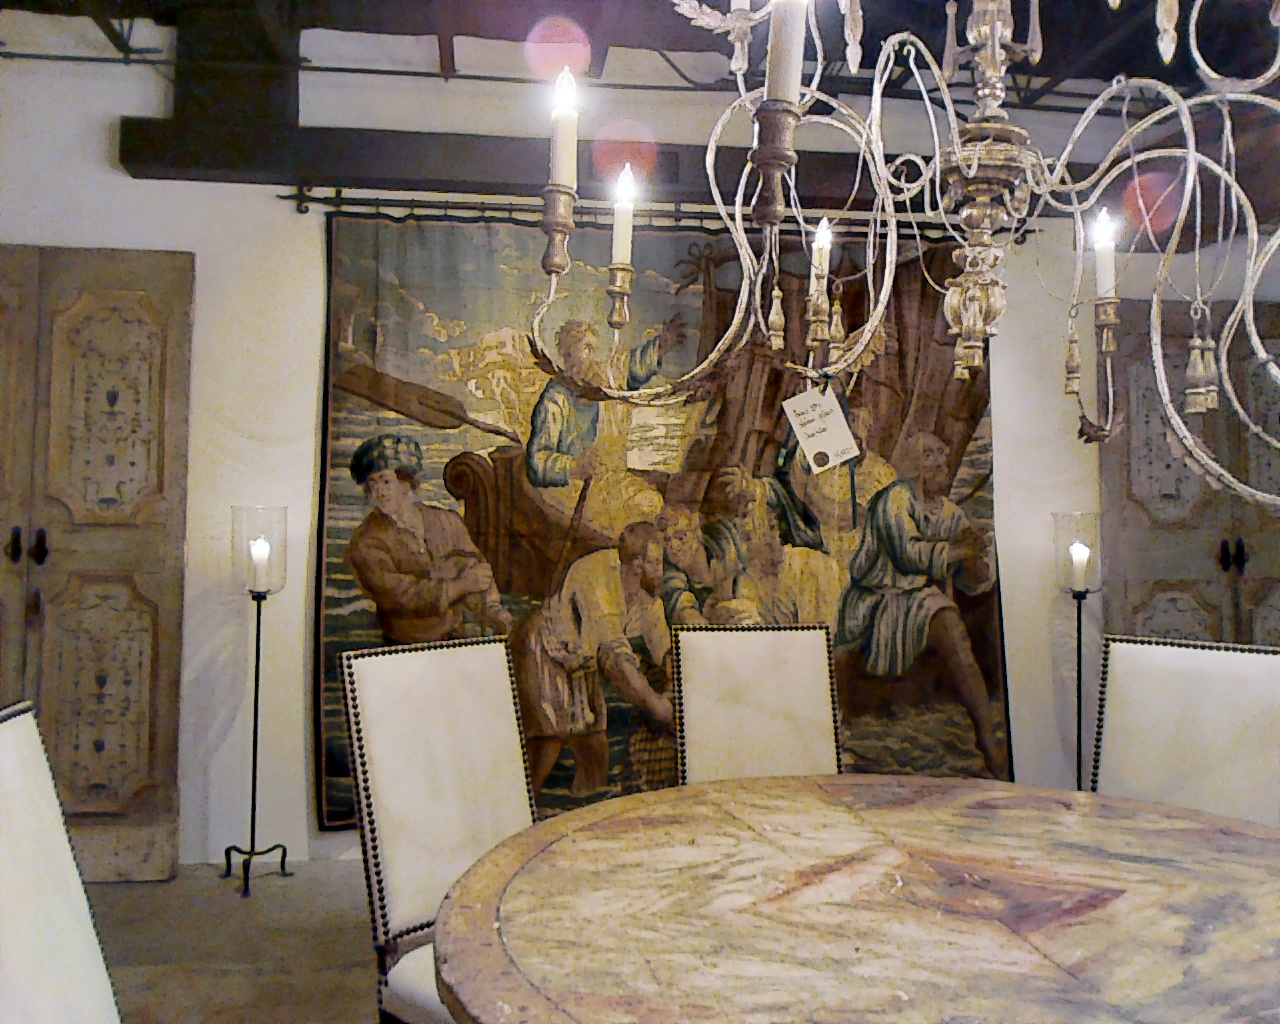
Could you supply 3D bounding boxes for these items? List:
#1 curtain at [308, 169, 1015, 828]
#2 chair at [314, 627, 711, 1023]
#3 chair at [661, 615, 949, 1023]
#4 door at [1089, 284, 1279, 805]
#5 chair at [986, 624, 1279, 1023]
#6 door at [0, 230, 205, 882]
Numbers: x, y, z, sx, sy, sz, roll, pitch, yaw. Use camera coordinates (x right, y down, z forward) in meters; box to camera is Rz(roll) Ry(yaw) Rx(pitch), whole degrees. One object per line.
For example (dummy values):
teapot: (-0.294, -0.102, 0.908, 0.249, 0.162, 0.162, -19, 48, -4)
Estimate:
curtain: (0.150, -0.040, 4.720, 3.080, 2.740, 0.110, 1, 0, -7)
chair: (-0.310, 0.890, 2.550, 0.710, 1.130, 0.620, 1, 0, 45)
chair: (0.420, 0.890, 3.010, 0.600, 1.130, 0.730, 1, 0, -8)
door: (2.740, 0.140, 4.990, 1.290, 2.360, 0.080, 1, -4, -8)
chair: (1.320, 0.900, 2.700, 0.640, 1.130, 0.740, 1, 0, 37)
door: (-2.440, 0.150, 4.310, 1.230, 2.580, 0.100, 0, -5, -7)
